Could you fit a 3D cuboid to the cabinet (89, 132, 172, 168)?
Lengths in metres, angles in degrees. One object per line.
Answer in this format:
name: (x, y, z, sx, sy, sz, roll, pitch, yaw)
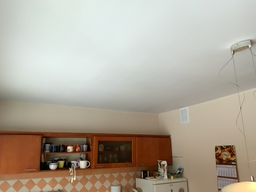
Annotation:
cabinet: (0.070, 0.860, 3.420, 1.340, 0.490, 0.280, 6, -17, -27)
